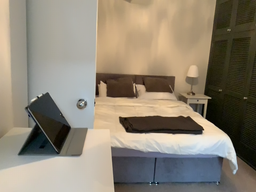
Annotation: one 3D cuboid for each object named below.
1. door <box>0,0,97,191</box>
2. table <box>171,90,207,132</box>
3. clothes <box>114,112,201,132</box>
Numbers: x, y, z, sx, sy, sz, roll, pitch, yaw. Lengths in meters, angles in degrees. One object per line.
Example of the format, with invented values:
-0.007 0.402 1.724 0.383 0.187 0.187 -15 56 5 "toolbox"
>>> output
-0.650 -0.060 1.370 0.860 1.810 0.070 2 11 -7 "door"
1.130 0.280 4.000 0.480 0.700 0.390 2 11 -7 "table"
0.280 0.280 2.330 0.840 0.040 0.520 2 11 -8 "clothes"
